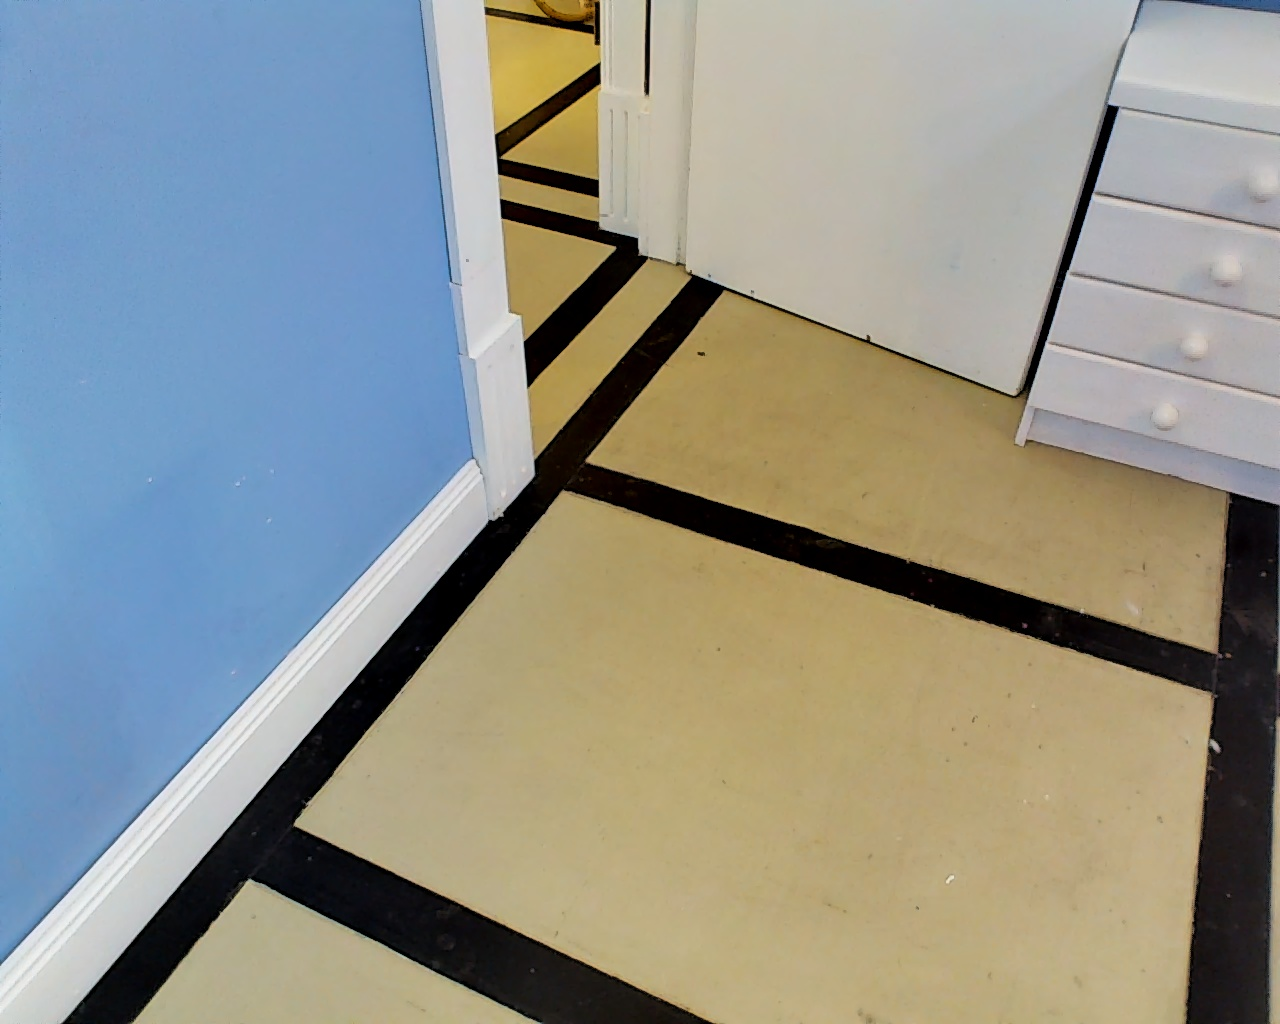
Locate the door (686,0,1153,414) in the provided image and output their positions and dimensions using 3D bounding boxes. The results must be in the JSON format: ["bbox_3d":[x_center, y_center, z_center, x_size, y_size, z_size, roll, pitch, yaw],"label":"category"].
[{"bbox_3d":[0.460,-1.140,1.690,0.830,2.050,0.030,26,47,26],"label":"door"}]
